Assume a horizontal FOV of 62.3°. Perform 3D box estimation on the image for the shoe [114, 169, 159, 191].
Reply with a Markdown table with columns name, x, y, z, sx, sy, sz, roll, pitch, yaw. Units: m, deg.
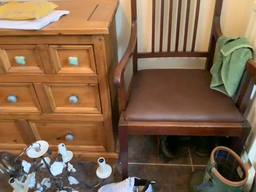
| name | x | y | z | sx | sy | sz | roll | pitch | yaw |
| --- | --- | --- | --- | --- | --- | --- | --- | --- | --- |
| shoe | 0.040 | 0.500 | 1.030 | 0.210 | 0.120 | 0.240 | 1 | 37 | 3 |
